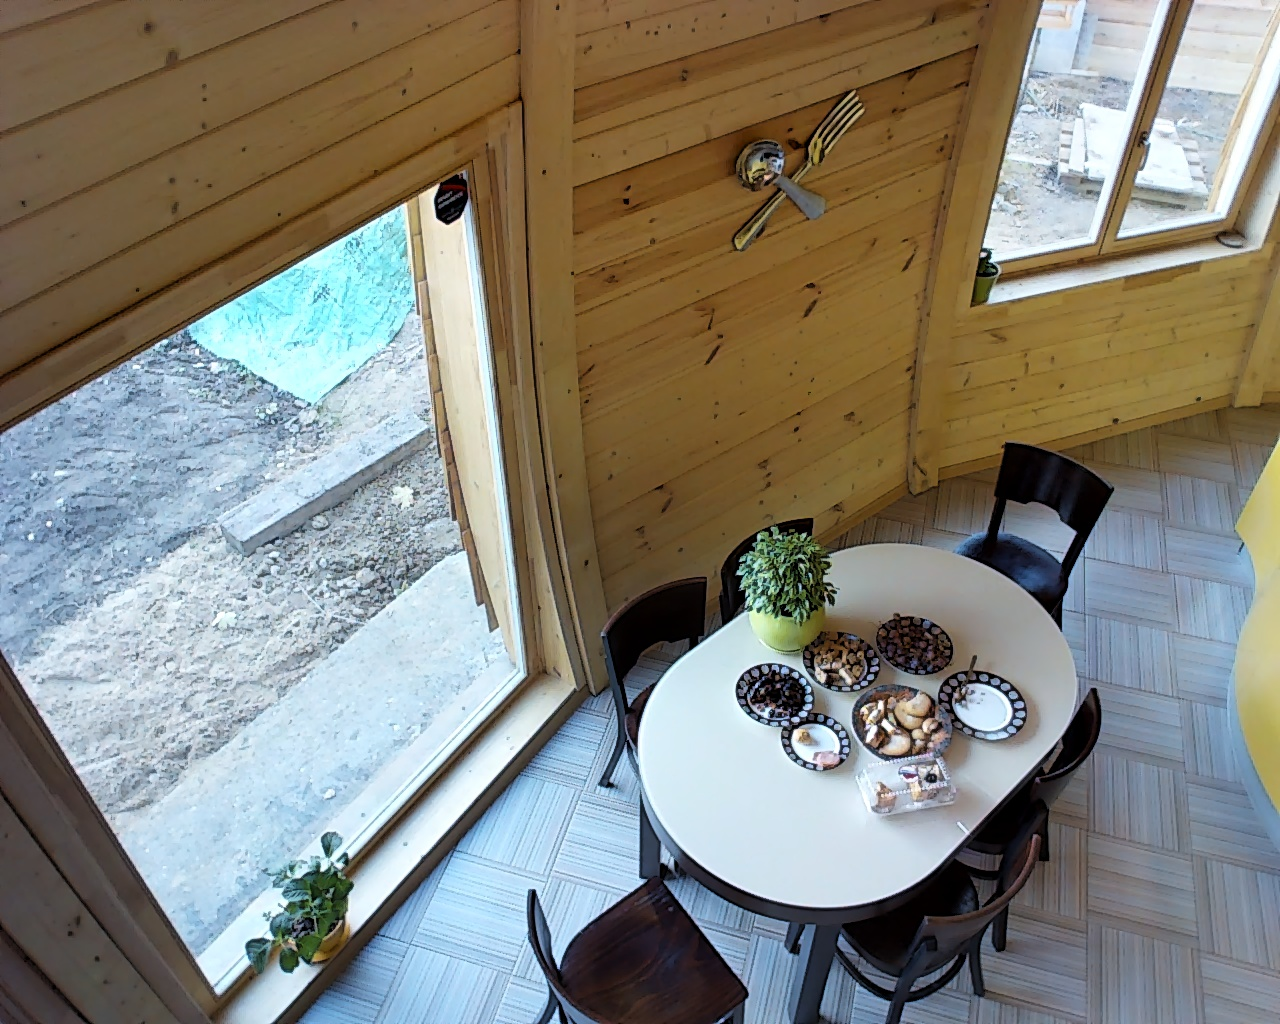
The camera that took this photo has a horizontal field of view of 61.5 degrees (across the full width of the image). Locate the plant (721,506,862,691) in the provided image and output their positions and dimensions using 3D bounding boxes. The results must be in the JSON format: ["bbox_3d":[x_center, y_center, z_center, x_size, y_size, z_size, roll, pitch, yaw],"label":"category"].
[{"bbox_3d":[0.430,0.250,3.120,0.240,0.390,0.280,-34,52,-31],"label":"plant"}]

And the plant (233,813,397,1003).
[{"bbox_3d":[-0.940,1.160,3.150,0.280,0.400,0.270,26,49,26],"label":"plant"}]
